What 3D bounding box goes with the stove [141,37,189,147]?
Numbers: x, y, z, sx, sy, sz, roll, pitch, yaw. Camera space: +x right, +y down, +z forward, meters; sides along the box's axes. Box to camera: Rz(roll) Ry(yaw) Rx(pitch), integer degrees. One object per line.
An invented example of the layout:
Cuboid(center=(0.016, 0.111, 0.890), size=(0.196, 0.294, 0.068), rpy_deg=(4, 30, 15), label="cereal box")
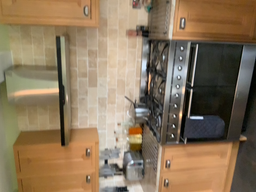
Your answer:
Cuboid(center=(0.310, -0.080, 2.060), size=(0.620, 0.150, 0.920), rpy_deg=(-126, 38, -69), label="stove")
